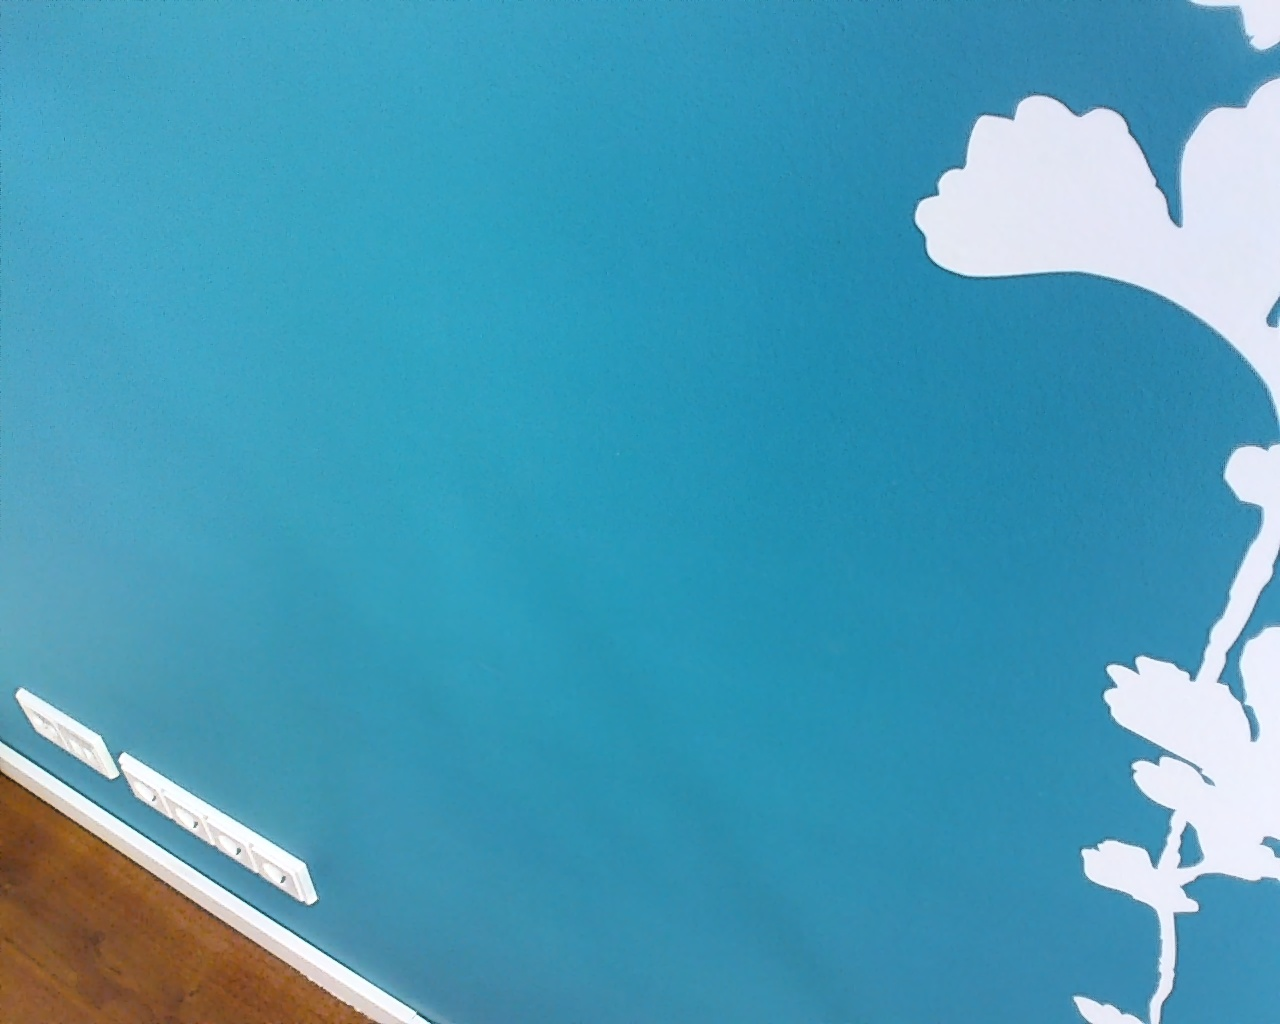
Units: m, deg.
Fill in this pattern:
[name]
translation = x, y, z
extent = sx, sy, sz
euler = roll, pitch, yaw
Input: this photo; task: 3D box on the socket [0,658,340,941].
[socket]
translation = -0.590, 0.340, 1.300
extent = 0.520, 0.130, 0.050
euler = 22, 46, 21
